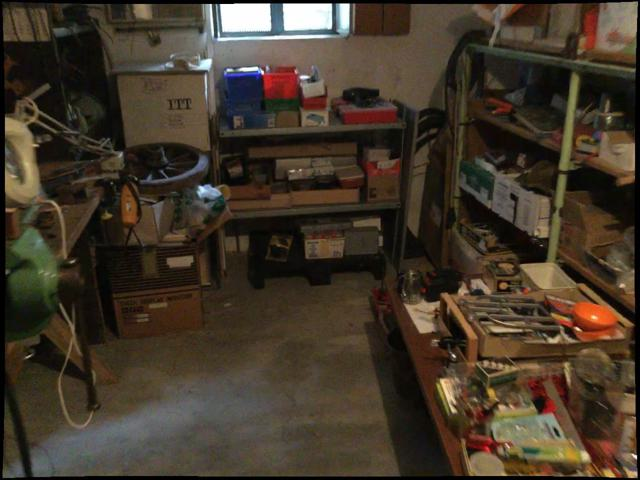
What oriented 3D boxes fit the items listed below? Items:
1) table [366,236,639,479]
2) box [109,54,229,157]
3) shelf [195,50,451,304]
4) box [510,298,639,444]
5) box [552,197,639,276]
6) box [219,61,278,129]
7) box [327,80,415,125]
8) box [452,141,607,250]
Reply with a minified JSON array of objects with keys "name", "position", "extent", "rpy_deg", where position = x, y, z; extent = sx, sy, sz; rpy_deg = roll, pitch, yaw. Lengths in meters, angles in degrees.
[{"name":"table","position":[0.629,0.521,1.920],"extent":[0.759,0.550,1.270],"rpy_deg":[-4,25,-4]},{"name":"box","position":[-0.819,-0.761,3.210],"extent":[0.549,0.440,0.460],"rpy_deg":[-7,25,-10]},{"name":"shelf","position":[-0.010,-0.410,3.380],"extent":[1.259,1.191,0.730],"rpy_deg":[-7,25,-10]},{"name":"box","position":[0.699,0.340,1.570],"extent":[0.200,0.210,0.320],"rpy_deg":[-7,25,-10]},{"name":"box","position":[1.019,-0.020,2.120],"extent":[0.180,0.180,0.260],"rpy_deg":[-7,25,-10]},{"name":"box","position":[-0.410,-0.831,3.270],"extent":[0.260,0.270,0.490],"rpy_deg":[-7,25,-10]},{"name":"box","position":[0.280,-0.801,3.330],"extent":[0.380,0.140,0.470],"rpy_deg":[-7,25,-10]},{"name":"box","position":[0.919,-0.240,2.680],"extent":[0.260,0.210,0.850],"rpy_deg":[-7,25,-10]}]
